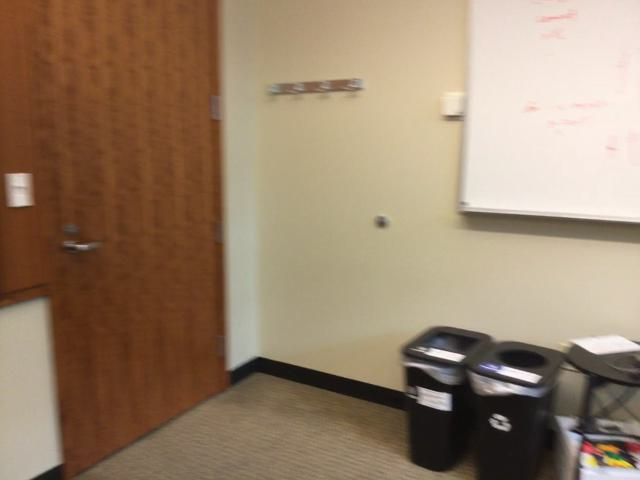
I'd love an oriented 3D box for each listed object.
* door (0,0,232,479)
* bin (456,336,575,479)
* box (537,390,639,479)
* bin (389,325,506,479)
[{"bbox_3d":[-0.790,-0.510,2.380,0.110,2.870,1.120,4,5,33],"label":"door"},{"bbox_3d":[0.770,0.710,2.260,0.320,0.550,0.430,4,5,33],"label":"bin"},{"bbox_3d":[1.110,0.850,2.110,0.490,0.370,0.550,4,5,33],"label":"box"},{"bbox_3d":[0.550,0.680,2.450,0.320,0.530,0.460,4,5,33],"label":"bin"}]
